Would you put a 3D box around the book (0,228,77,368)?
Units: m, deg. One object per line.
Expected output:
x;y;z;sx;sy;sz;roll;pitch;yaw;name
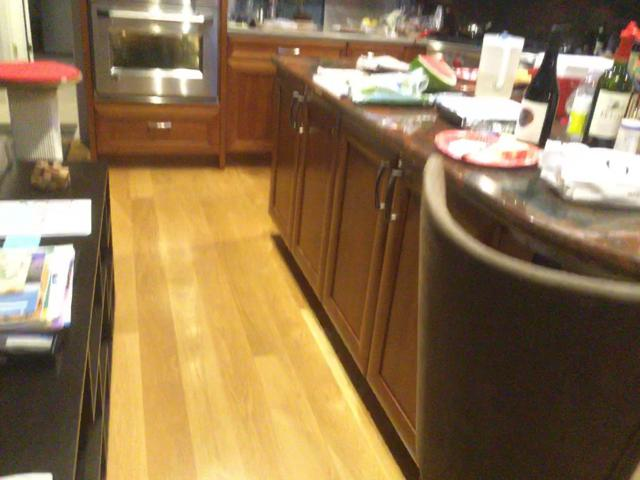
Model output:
-0.620;0.100;1.100;0.260;0.090;0.350;-3;28;-17;book
